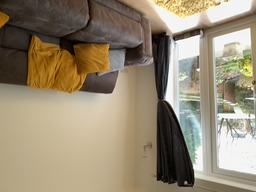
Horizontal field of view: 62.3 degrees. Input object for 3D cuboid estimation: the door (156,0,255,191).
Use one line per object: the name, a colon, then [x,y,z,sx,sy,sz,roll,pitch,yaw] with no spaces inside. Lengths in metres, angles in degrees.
door: [1.540,-0.020,2.510,0.420,2.290,2.700,5,173,-43]
